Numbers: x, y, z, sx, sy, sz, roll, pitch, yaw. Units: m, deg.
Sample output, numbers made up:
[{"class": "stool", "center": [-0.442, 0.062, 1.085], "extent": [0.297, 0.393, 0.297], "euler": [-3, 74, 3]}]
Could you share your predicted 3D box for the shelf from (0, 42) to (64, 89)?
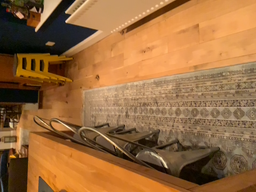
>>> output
[{"class": "shelf", "center": [-2.340, -0.500, 3.670], "extent": [1.300, 2.020, 0.560], "euler": [-5, 84, 53]}]

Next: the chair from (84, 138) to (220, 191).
[{"class": "chair", "center": [0.160, 0.520, 1.280], "extent": [0.400, 0.730, 0.450], "euler": [-9, 80, 53]}]

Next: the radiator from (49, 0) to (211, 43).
[{"class": "radiator", "center": [0.030, -0.730, 1.610], "extent": [1.920, 0.660, 0.140], "euler": [-1, 87, 53]}]
